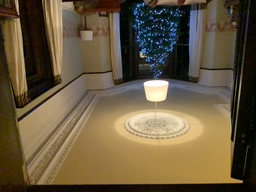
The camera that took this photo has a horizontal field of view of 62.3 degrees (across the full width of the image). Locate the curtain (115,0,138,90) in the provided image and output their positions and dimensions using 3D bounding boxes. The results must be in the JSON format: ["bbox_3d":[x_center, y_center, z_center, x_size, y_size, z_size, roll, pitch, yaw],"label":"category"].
[{"bbox_3d":[-0.050,-1.990,7.550,0.540,3.440,0.610,-8,-162,-21],"label":"curtain"}]

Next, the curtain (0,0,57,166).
[{"bbox_3d":[-1.550,-0.550,3.130,0.480,3.450,0.320,0,-163,5],"label":"curtain"}]
